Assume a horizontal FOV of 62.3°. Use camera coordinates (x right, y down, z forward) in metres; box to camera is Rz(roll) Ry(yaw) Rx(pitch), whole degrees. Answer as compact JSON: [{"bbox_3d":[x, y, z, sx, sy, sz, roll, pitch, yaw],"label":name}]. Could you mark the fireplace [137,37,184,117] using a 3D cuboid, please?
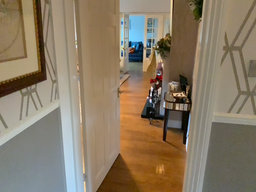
[{"bbox_3d":[0.670,-0.470,4.140,0.680,1.230,1.470,5,18,12],"label":"fireplace"}]
